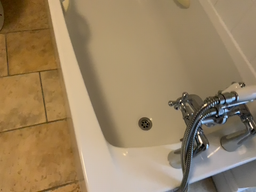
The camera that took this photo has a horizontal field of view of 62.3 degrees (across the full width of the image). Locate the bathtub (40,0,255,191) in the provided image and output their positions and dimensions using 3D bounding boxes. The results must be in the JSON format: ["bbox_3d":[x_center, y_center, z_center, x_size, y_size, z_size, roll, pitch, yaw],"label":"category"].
[{"bbox_3d":[-0.080,-0.380,1.150,0.680,0.540,1.670,-11,66,-17],"label":"bathtub"}]
